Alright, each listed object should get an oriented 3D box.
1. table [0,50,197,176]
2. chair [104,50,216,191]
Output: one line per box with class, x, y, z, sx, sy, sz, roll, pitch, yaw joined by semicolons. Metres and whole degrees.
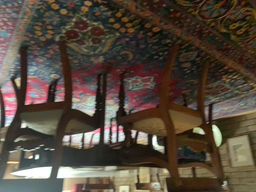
table;-0.510;0.470;2.350;1.310;0.730;1.950;16;153;-35
chair;0.190;0.240;1.570;0.510;0.880;0.540;14;154;-32
